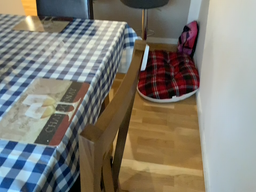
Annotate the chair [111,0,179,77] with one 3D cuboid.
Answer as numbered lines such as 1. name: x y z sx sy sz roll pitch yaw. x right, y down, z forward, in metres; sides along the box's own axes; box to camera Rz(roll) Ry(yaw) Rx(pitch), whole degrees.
1. chair: 0.130 -0.730 2.050 0.490 0.910 0.480 -10 42 -12
